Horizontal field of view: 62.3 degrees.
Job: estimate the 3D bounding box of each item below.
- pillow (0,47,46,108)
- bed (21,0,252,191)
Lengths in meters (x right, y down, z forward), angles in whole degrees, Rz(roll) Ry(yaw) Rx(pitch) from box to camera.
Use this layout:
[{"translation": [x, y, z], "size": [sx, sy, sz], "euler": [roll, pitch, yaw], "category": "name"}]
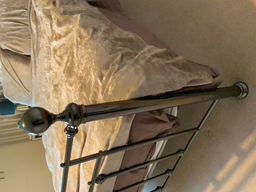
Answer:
[{"translation": [-1.270, -0.190, 2.390], "size": [0.180, 0.390, 0.590], "euler": [51, 166, 40], "category": "pillow"}, {"translation": [-0.440, -0.050, 1.950], "size": [2.210, 0.650, 1.620], "euler": [53, 138, 38], "category": "bed"}]
